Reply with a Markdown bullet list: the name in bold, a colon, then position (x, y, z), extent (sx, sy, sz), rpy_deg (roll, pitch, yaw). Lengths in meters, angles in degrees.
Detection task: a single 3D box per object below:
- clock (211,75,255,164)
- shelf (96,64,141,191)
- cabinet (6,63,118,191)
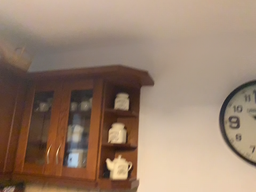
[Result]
- **clock**: position (0.900, 0.150, 1.400), extent (0.630, 0.580, 0.080), rpy_deg (-3, -15, 21)
- **shelf**: position (-0.050, 0.220, 1.600), extent (0.210, 0.860, 0.270), rpy_deg (-2, -14, 19)
- **cabinet**: position (-0.490, 0.230, 1.700), extent (0.690, 0.860, 0.350), rpy_deg (-2, -14, 19)
